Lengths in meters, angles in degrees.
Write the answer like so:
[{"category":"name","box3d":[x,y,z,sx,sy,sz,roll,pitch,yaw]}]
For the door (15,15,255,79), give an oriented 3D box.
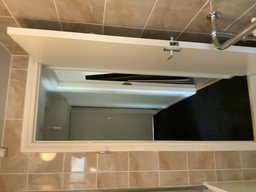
[{"category":"door","box3d":[0.330,-0.300,1.650,0.780,1.990,0.110,150,121,-79]}]
